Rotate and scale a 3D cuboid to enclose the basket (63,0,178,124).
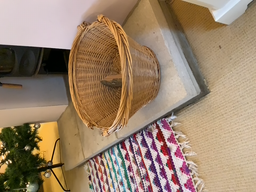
[{"bbox_3d":[-0.060,-0.110,0.820,0.340,0.240,0.320,-38,62,50],"label":"basket"}]
